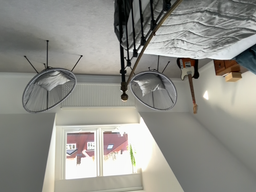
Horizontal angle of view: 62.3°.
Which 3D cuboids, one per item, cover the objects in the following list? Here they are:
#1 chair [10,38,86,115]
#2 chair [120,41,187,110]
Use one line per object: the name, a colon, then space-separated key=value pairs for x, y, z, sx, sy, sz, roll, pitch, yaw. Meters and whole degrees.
chair: x=-1.160 y=-0.220 z=3.140 sx=0.790 sy=0.840 sz=0.700 roll=-13 pitch=164 yaw=33
chair: x=0.410 y=-0.260 z=3.430 sx=0.710 sy=0.810 sz=0.800 roll=-13 pitch=164 yaw=35
